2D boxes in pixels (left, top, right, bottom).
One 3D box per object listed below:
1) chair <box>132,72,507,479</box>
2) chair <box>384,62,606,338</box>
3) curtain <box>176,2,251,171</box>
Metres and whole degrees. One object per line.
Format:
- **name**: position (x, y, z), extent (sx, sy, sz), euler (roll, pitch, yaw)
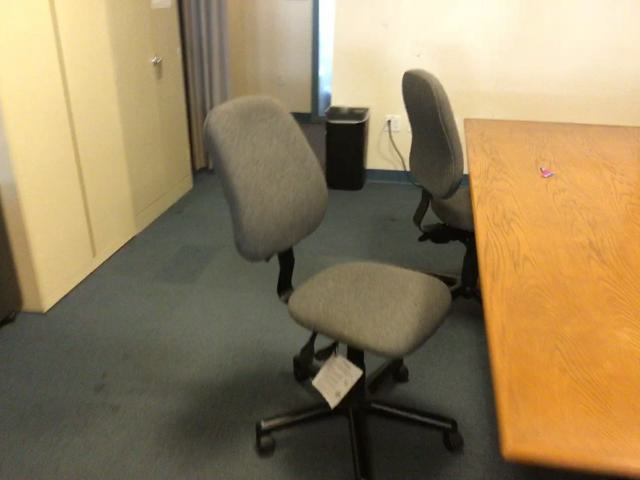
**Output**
- **chair**: position (0.000, 0.070, 1.820), extent (0.890, 1.070, 0.560), euler (12, 24, 29)
- **chair**: position (0.660, -0.190, 2.480), extent (0.670, 1.050, 0.570), euler (0, 21, 0)
- **curtain**: position (-0.740, -1.090, 4.160), extent (0.360, 1.120, 0.360), euler (4, 21, 9)
